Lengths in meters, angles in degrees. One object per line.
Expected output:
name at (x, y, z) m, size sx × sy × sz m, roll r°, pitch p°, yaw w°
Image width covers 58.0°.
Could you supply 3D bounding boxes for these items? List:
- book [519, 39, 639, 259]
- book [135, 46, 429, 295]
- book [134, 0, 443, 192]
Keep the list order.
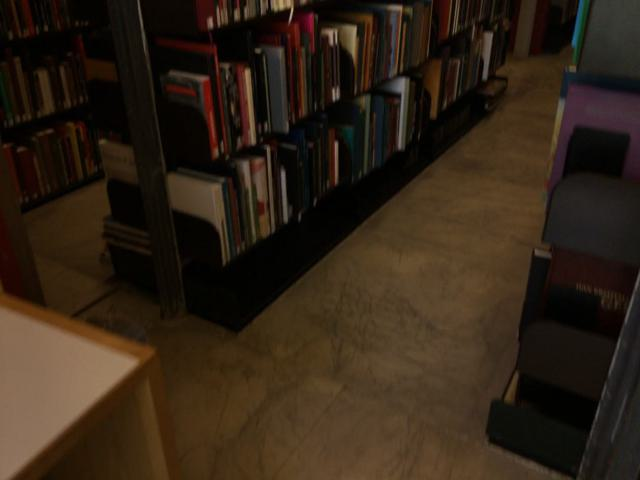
book at (0.640, -0.200, 1.260) m, size 0.300 × 0.400 × 0.190 m, roll 16°, pitch 35°, yaw 28°
book at (-0.030, -0.400, 2.430) m, size 0.390 × 0.480 × 1.480 m, roll 16°, pitch 35°, yaw 28°
book at (0.030, -0.750, 2.320) m, size 0.310 × 0.470 × 1.630 m, roll 16°, pitch 35°, yaw 28°
